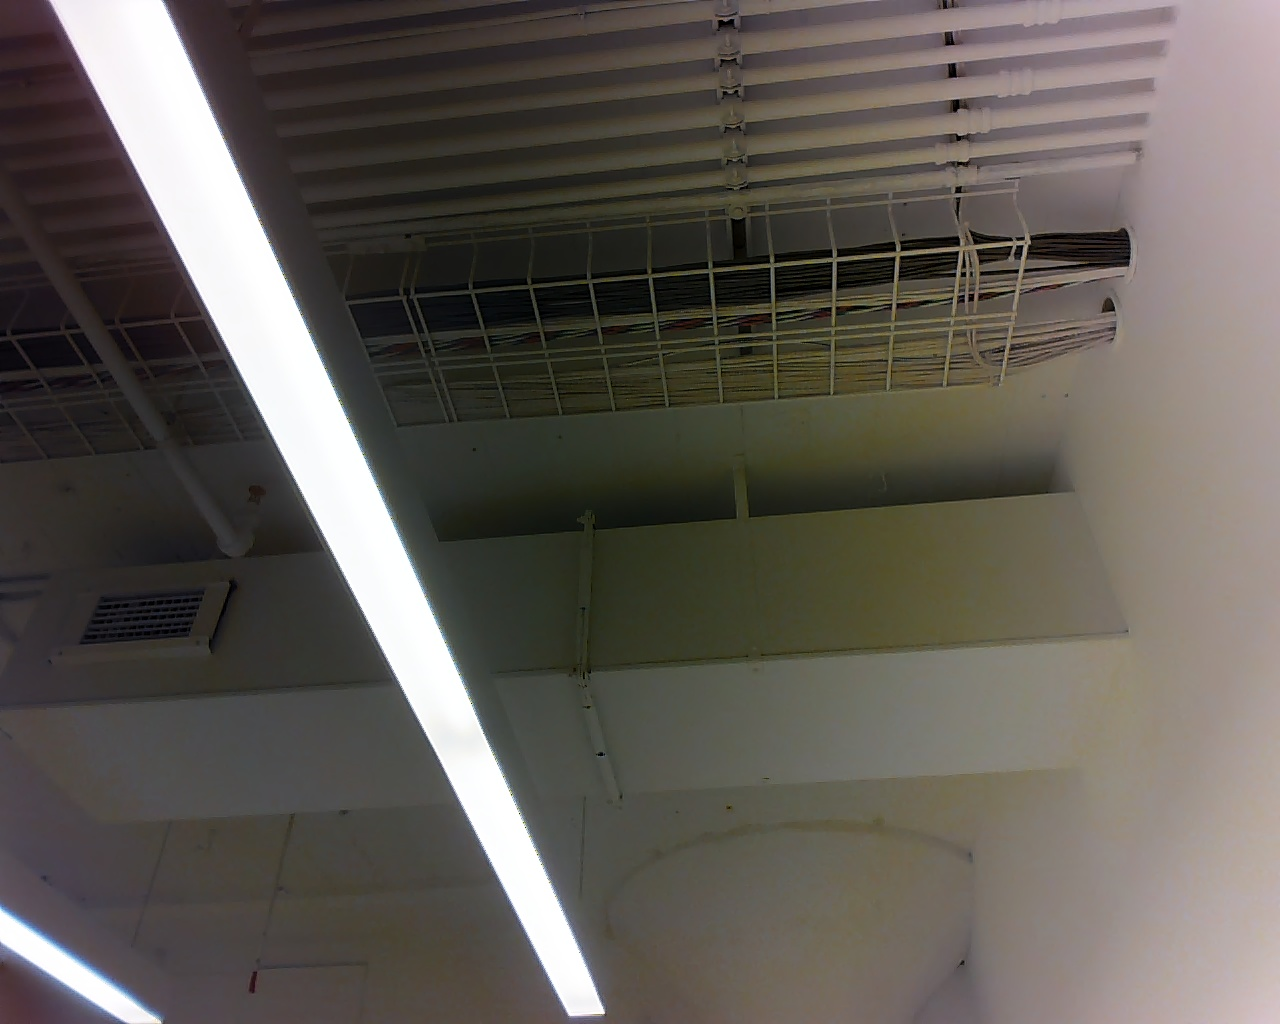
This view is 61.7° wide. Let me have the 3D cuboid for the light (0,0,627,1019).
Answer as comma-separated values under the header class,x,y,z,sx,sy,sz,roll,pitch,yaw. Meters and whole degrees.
class,x,y,z,sx,sy,sz,roll,pitch,yaw
light,-0.260,0.250,1.800,0.180,0.400,2.431,-4,-42,5
